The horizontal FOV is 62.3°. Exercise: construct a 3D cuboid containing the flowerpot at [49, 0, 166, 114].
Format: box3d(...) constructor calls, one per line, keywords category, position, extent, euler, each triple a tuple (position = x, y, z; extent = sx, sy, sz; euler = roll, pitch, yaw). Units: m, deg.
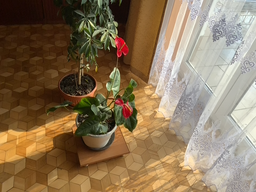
box3d(category="flowerpot", position=(-0.220, -0.490, 1.530), extent=(0.580, 1.020, 0.650), euler=(-9, 48, -20))
